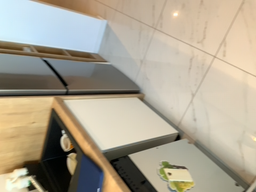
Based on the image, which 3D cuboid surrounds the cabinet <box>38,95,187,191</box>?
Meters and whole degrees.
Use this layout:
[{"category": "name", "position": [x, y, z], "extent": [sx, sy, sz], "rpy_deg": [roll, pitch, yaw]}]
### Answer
[{"category": "cabinet", "position": [-0.110, 0.390, 1.610], "extent": [0.510, 0.860, 0.600], "rpy_deg": [41, 120, 37]}]

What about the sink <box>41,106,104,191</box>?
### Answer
[{"category": "sink", "position": [-0.390, 0.360, 1.400], "extent": [0.370, 0.160, 0.450], "rpy_deg": [41, 120, 37]}]
